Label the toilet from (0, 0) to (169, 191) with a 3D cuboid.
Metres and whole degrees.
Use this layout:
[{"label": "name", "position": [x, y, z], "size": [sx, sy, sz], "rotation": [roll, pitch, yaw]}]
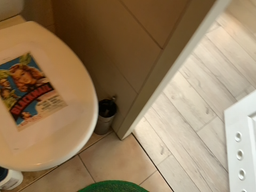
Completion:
[{"label": "toilet", "position": [-0.370, -0.070, 0.730], "size": [0.380, 0.860, 0.680], "rotation": [-29, 74, -25]}]
